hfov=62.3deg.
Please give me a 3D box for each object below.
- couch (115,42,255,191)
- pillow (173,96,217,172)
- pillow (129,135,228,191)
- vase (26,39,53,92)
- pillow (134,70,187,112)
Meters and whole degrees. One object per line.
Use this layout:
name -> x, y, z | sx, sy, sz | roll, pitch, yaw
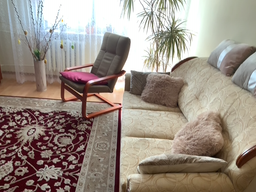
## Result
couch -> 0.440, 0.200, 1.980 | 1.030, 0.920, 2.100 | 4, 25, -3
pillow -> 0.490, 0.280, 1.530 | 0.210, 0.380, 0.380 | -8, 47, 26
pillow -> 0.270, 0.410, 1.270 | 0.510, 0.230, 0.210 | 5, 25, -1
vase -> -1.340, -0.480, 3.270 | 0.210, 0.680, 0.470 | 3, 25, -6
pillow -> 0.360, -0.060, 2.340 | 0.480, 0.370, 0.150 | 21, 66, 43
